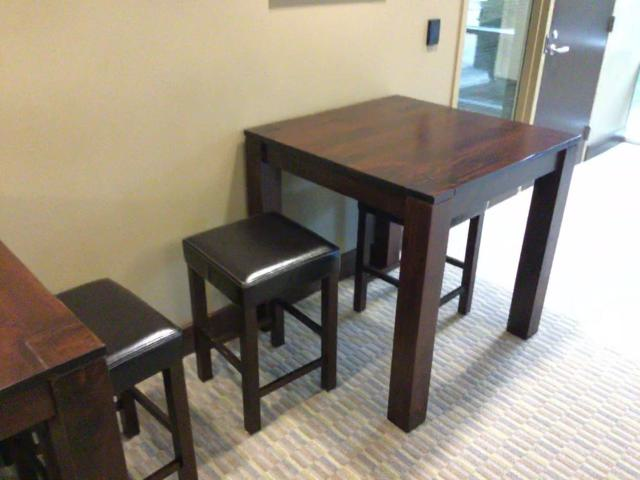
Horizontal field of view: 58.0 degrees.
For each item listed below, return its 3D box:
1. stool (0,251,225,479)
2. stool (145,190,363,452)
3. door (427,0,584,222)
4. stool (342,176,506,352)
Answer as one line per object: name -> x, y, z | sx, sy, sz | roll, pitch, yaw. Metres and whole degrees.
stool -> -0.650, 0.490, 1.700 | 0.430, 0.670, 0.570 | -25, 34, -38
stool -> -0.230, 0.260, 2.180 | 0.490, 0.660, 0.610 | -25, 34, -38
door -> 1.080, -1.220, 3.230 | 1.010, 2.010, 0.330 | -25, 34, -38
stool -> 0.460, 0.080, 2.630 | 0.490, 0.530, 0.510 | -25, 34, -38
